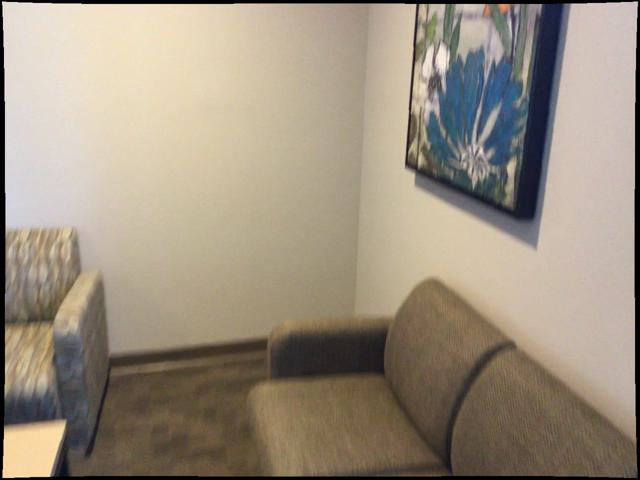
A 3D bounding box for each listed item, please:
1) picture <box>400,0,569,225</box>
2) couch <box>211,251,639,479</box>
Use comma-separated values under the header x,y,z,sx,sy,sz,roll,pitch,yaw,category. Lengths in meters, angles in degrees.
x,y,z,sx,sy,sz,roll,pitch,yaw,category
0.490,-0.571,1.940,0.090,0.811,0.840,-8,22,-15,picture
0.320,0.751,1.490,0.859,0.781,1.870,-5,21,-19,couch
